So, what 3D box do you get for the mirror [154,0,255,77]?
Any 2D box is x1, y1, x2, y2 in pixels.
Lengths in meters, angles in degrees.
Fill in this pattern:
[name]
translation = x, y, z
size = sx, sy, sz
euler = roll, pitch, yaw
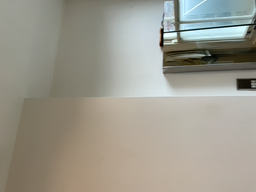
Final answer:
[mirror]
translation = 0.610, -0.480, 1.700
size = 0.060, 0.770, 0.650
euler = 49, -137, -67
